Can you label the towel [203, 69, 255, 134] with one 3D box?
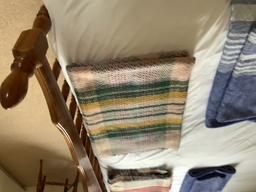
[{"bbox_3d":[0.440,0.030,0.840,0.200,0.080,0.280,-5,136,-1],"label":"towel"}]
